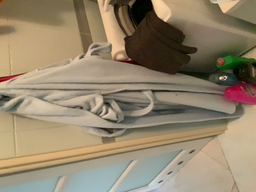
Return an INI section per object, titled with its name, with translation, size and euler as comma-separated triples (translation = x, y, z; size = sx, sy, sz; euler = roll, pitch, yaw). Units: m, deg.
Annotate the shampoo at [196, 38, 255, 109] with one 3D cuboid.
[shampoo]
translation = 0.620, -0.110, 1.190
size = 0.240, 0.300, 0.290
euler = -38, 60, 49
